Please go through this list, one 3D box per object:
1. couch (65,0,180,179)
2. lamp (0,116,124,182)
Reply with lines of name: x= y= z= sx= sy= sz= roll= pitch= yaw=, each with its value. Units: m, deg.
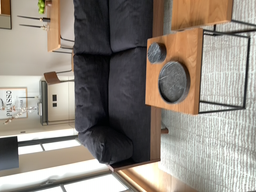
couch: x=-0.110 y=-0.450 z=2.050 sx=0.900 sy=0.750 sz=2.030 roll=12 pitch=102 yaw=60
lamp: x=-0.960 y=0.600 z=2.620 sx=0.520 sy=1.770 sz=0.430 roll=20 pitch=109 yaw=58
